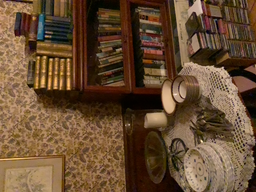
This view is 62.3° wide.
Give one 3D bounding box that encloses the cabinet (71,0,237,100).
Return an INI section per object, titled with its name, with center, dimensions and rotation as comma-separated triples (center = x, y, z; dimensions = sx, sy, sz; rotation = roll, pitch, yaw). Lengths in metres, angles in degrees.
[cabinet]
center = 0.210, -0.430, 1.900
dimensions = 0.340, 1.380, 0.860
rotation = 139, 129, -68
